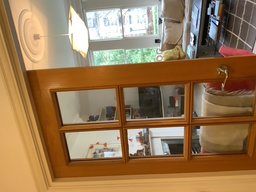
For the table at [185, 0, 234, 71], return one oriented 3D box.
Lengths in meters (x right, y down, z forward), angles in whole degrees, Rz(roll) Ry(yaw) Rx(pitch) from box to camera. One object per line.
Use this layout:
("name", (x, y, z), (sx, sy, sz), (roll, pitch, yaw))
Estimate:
("table", (1.220, -1.140, 3.270), (0.520, 0.450, 1.420), (-90, -4, -54))
